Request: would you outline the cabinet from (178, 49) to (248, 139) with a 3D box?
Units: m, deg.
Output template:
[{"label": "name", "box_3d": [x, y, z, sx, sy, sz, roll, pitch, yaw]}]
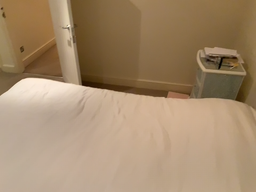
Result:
[{"label": "cabinet", "box_3d": [0.840, -0.020, 2.280, 0.470, 0.800, 0.470, 7, 35, 8]}]
